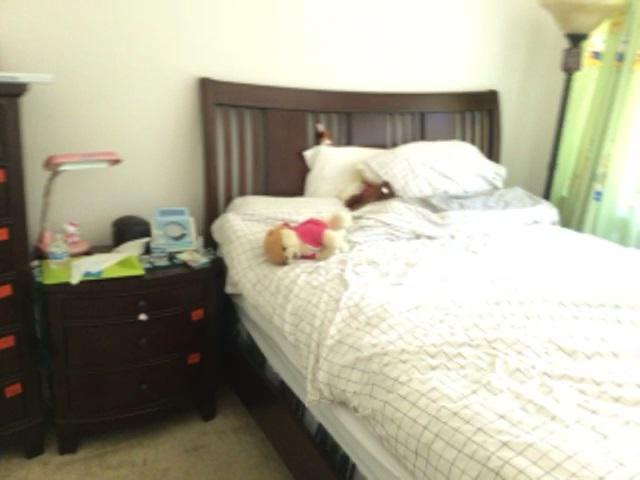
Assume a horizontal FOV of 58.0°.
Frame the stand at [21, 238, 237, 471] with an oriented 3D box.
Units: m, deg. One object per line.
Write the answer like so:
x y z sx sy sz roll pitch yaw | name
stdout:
-0.760 0.410 2.340 0.710 0.650 0.500 -7 19 -24 | stand

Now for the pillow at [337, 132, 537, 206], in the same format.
0.520 -0.340 2.620 0.790 0.220 0.400 -7 19 -24 | pillow
